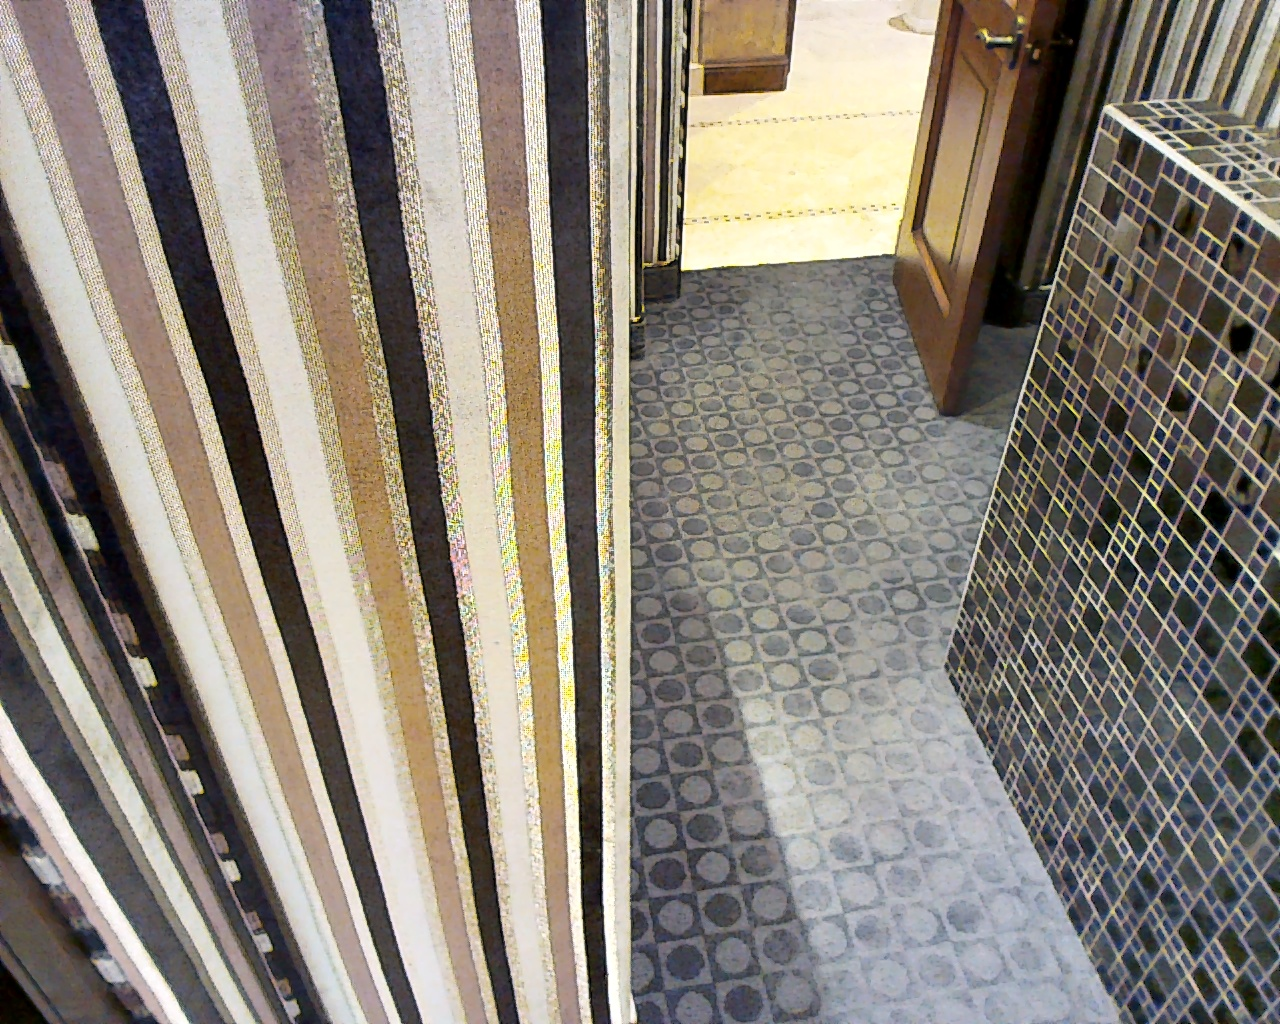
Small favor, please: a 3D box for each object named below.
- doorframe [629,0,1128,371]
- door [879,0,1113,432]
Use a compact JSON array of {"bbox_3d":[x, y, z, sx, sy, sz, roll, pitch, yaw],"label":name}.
[{"bbox_3d":[0.560,-1.620,2.380,1.110,2.640,0.510,-6,41,-7],"label":"doorframe"},{"bbox_3d":[0.830,-1.370,2.250,0.150,2.420,0.740,-1,40,-2],"label":"door"}]
